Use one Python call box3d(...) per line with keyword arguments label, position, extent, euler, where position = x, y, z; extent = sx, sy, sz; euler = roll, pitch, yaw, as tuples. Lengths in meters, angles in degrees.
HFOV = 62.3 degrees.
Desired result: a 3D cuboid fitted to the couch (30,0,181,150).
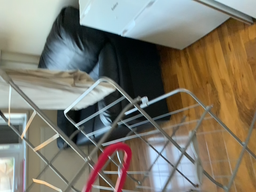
box3d(label="couch", position=(-0.400, -0.040, 2.160), extent=(1.490, 0.900, 0.950), euler=(-30, 62, 54))
